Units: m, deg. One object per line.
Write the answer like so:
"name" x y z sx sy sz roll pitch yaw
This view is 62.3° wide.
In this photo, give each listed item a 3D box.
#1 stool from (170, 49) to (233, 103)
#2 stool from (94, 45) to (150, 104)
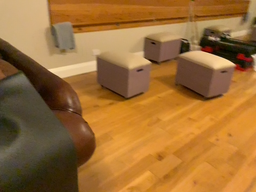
"stool" 0.990 -0.310 2.990 0.410 0.530 0.650 -11 30 -26
"stool" -0.110 -0.320 2.870 0.350 0.540 0.700 -20 35 -39
